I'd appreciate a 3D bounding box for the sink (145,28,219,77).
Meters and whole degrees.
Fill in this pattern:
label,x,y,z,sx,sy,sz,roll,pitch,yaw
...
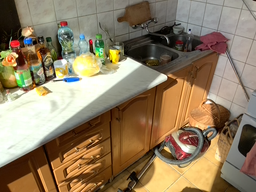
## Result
label,x,y,z,sx,sy,sz,roll,pitch,yaw
sink,0.480,-0.420,1.950,0.400,0.210,0.500,-26,43,-34

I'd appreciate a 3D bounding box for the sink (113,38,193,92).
label,x,y,z,sx,sy,sz,roll,pitch,yaw
sink,0.190,-0.280,1.730,0.390,0.180,0.500,-26,43,-34
